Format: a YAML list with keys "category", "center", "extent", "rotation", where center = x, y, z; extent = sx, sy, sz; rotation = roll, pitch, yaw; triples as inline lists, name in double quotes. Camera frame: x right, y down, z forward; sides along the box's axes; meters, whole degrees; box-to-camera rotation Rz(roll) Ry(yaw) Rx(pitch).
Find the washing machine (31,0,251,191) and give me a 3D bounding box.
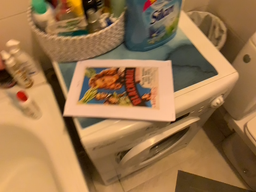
- category: "washing machine"
  center: [0.010, 0.030, 0.980]
  extent: [0.520, 0.700, 0.520]
  rotation: [-24, 63, -14]
